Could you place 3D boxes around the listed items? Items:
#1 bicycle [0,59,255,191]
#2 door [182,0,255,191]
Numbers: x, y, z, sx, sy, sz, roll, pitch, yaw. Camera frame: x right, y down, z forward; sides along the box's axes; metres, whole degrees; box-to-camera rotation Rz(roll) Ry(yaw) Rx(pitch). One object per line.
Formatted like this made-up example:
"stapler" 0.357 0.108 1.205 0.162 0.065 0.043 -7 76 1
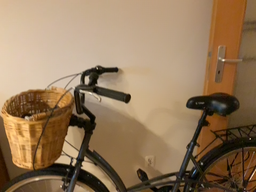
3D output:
"bicycle" 0.180 0.430 1.170 1.740 1.120 0.420 -5 22 -9
"door" 0.860 -0.160 1.290 0.870 2.110 0.130 -1 22 -1
